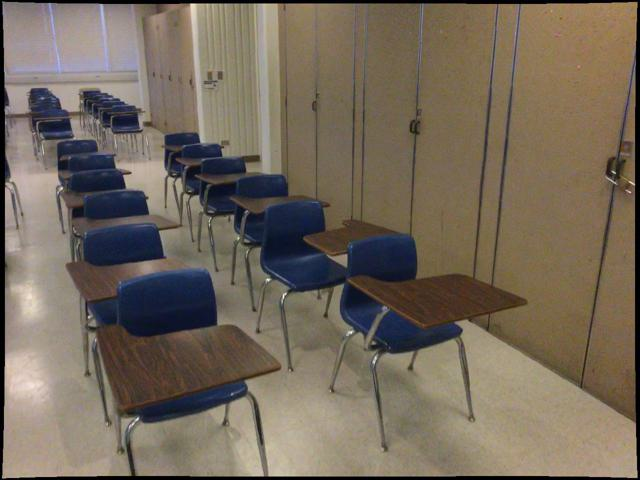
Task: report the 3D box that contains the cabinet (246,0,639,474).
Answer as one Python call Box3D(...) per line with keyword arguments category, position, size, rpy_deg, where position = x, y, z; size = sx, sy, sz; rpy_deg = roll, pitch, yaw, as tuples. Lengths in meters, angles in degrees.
Box3D(category="cabinet", position=(0.668, -0.872, 3.700), size=(0.719, 2.456, 4.399), rpy_deg=(-9, 21, -26))

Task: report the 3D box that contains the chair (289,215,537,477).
Box3D(category="chair", position=(0.329, 0.371, 2.550), size=(0.569, 0.662, 0.990), rpy_deg=(-9, 21, -26))

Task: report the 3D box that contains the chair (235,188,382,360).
Box3D(category="chair", position=(-0.090, 0.140, 3.200), size=(0.509, 0.662, 0.760), rpy_deg=(-9, 21, -26))

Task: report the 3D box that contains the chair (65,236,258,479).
Box3D(category="chair", position=(-0.648, 0.471, 2.280), size=(0.509, 0.692, 0.850), rpy_deg=(-9, 21, -26))
